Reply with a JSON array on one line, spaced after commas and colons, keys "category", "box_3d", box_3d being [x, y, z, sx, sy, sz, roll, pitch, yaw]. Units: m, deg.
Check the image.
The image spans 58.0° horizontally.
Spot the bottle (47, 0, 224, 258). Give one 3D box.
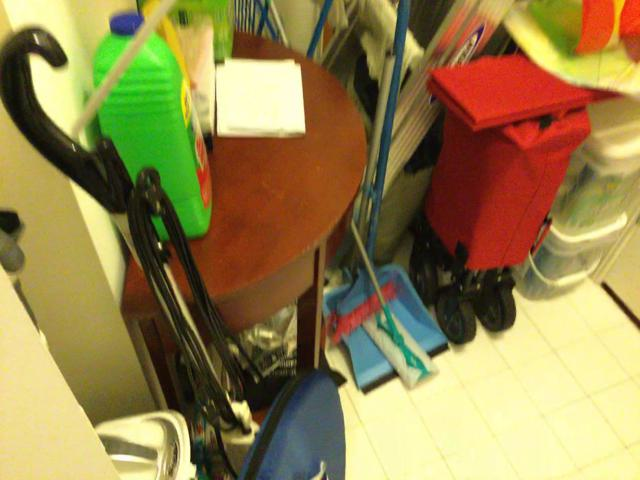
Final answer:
[{"category": "bottle", "box_3d": [-0.230, -0.160, 0.760, 0.150, 0.310, 0.190, -11, 51, -12]}]
